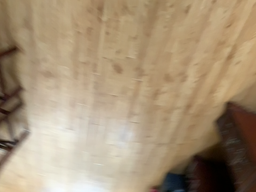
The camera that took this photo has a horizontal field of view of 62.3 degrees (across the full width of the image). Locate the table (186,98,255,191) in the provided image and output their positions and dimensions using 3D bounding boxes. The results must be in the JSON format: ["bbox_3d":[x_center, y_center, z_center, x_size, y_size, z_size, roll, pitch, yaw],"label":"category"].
[{"bbox_3d":[0.910,0.620,1.570,0.560,0.760,0.820,11,127,-5],"label":"table"}]
